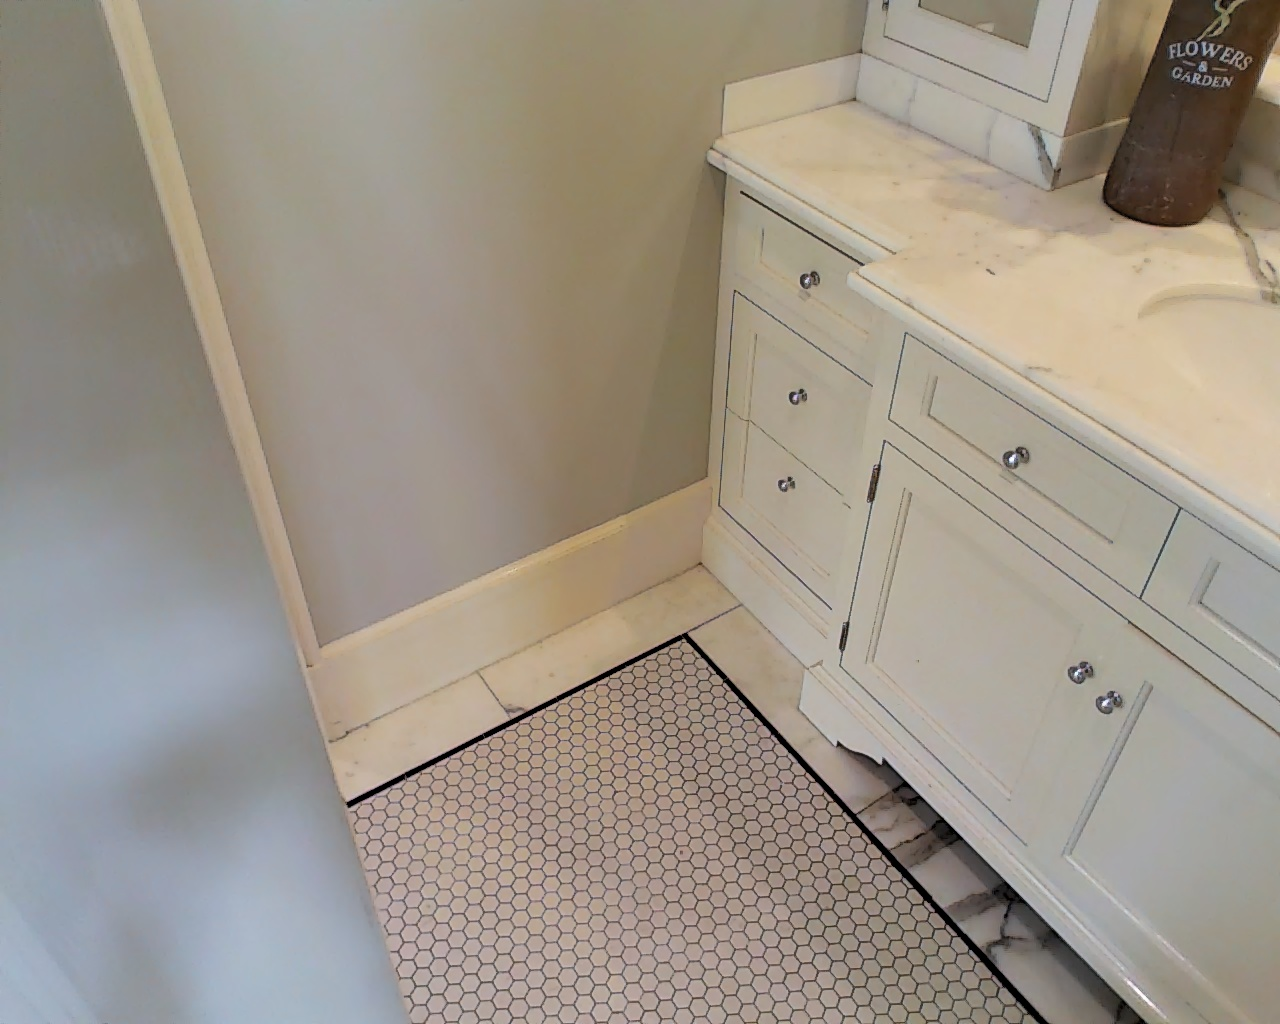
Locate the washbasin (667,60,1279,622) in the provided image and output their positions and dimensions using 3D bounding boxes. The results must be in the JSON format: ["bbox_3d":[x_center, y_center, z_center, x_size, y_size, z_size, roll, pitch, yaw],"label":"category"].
[{"bbox_3d":[0.800,-0.140,1.240,0.630,0.120,1.800,-23,47,-25],"label":"washbasin"}]
